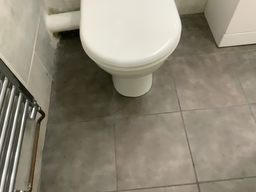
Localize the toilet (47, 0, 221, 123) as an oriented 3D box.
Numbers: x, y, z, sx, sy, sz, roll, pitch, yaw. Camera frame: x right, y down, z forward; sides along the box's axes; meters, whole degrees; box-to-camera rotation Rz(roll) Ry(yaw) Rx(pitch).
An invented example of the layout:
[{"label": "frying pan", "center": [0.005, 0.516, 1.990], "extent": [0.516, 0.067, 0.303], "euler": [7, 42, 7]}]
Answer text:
[{"label": "toilet", "center": [0.000, -0.380, 0.880], "extent": [0.400, 0.790, 0.680], "euler": [-7, 59, -1]}]
